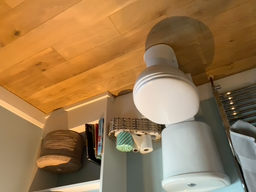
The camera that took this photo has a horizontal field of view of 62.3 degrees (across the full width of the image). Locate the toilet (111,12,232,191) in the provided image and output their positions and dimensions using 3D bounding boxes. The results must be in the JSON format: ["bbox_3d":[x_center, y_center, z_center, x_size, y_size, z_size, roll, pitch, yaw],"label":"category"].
[{"bbox_3d":[0.260,0.080,1.300,0.400,0.810,0.700,-18,140,21],"label":"toilet"}]
